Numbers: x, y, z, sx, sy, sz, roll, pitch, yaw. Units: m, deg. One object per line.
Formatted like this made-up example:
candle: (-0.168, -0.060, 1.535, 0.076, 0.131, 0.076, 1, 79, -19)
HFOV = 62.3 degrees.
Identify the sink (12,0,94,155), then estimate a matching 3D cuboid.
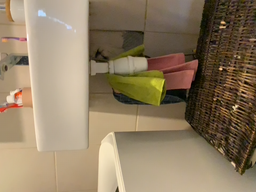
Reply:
sink: (-0.200, -0.100, 0.670, 0.310, 0.170, 0.450, -113, 26, -66)
